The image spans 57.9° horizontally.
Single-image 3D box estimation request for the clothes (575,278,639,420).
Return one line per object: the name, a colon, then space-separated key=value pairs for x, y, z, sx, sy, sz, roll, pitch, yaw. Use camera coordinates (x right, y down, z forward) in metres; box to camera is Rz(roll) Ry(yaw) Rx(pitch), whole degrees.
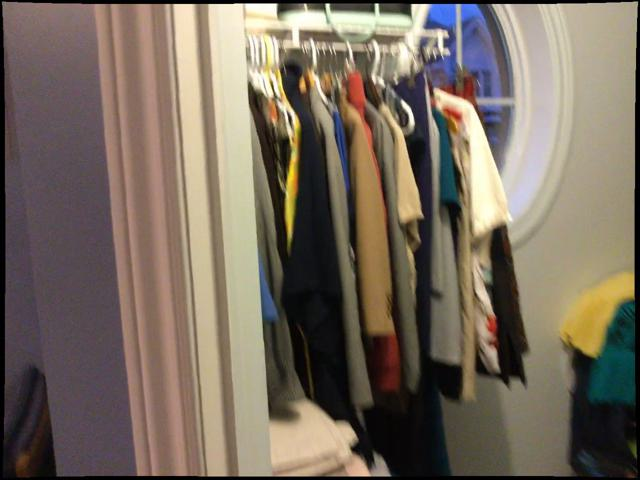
clothes: x=1.079 y=0.340 z=1.920 sx=0.370 sy=0.370 sz=0.220 roll=-6 pitch=9 yaw=-18
